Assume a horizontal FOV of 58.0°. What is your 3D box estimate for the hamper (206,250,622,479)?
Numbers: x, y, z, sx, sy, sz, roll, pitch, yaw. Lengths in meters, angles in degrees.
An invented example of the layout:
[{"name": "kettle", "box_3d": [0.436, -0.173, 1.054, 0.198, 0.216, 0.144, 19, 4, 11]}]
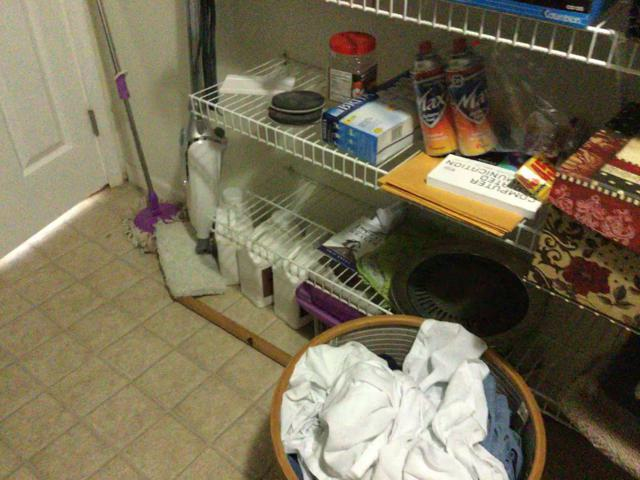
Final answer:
[{"name": "hamper", "box_3d": [0.160, 0.430, 1.090, 0.490, 0.510, 0.480, 26, 44, 30]}]
